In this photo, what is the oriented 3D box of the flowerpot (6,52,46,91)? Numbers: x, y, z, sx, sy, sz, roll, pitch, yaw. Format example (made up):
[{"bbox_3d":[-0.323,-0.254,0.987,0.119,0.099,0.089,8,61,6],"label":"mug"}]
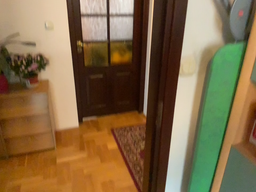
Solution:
[{"bbox_3d":[-0.970,-0.250,2.050,0.290,0.280,0.270,-8,27,-18],"label":"flowerpot"}]
